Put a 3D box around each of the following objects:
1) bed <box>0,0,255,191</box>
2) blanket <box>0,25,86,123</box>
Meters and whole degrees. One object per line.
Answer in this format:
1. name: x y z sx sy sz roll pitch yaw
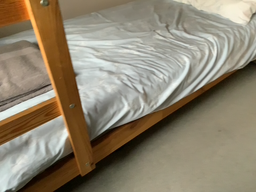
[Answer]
1. bed: 0.000 -0.650 1.100 2.060 1.530 1.040 -28 47 -27
2. blanket: -0.540 -0.120 0.960 0.500 0.130 0.500 -26 46 -26
